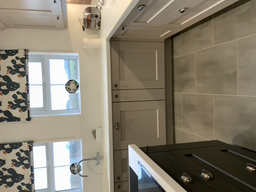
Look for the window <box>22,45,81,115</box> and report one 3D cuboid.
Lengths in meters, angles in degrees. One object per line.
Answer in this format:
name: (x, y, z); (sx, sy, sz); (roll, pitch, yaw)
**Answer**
window: (-1.120, -0.240, 3.160); (0.090, 0.770, 1.000); (-163, 71, -74)
